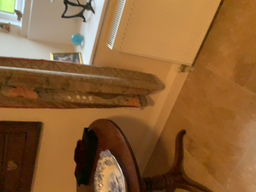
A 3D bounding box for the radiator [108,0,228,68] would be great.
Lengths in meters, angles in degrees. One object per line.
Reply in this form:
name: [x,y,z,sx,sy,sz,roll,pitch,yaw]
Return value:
radiator: [0.320,-0.620,1.140,0.060,0.650,0.910,51,128,48]
